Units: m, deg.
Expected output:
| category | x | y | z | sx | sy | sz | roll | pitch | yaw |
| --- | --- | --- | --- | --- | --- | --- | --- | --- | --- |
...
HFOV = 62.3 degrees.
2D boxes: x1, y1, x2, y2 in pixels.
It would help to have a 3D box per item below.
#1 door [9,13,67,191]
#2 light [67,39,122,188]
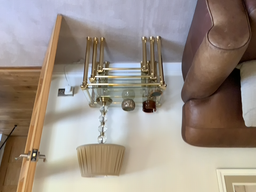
| category | x | y | z | sx | sy | sz | roll | pitch | yaw |
| --- | --- | --- | --- | --- | --- | --- | --- | --- | --- |
| door | -0.640 | 0.460 | 1.320 | 0.110 | 1.940 | 0.690 | 13 | 153 | -25 |
| light | -0.210 | 0.120 | 1.650 | 0.280 | 1.090 | 0.370 | -1 | 155 | 3 |
